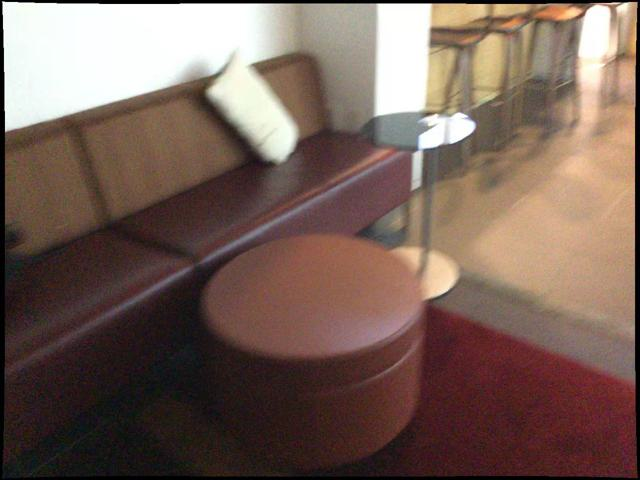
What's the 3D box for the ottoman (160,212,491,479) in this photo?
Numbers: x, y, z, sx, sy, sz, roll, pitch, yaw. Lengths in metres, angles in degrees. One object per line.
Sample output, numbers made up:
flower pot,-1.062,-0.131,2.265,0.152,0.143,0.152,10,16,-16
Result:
ottoman,0.030,0.331,1.730,0.669,0.441,0.650,22,39,34
